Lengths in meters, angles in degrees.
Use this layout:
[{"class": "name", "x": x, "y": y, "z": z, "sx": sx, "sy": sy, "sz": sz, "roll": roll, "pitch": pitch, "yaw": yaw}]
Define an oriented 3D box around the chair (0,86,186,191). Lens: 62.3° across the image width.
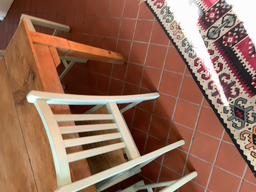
[{"class": "chair", "x": -0.140, "y": 0.240, "z": 1.160, "sx": 0.450, "sy": 0.840, "sz": 0.400, "roll": -37, "pitch": 69, "yaw": 34}]
